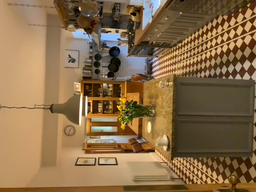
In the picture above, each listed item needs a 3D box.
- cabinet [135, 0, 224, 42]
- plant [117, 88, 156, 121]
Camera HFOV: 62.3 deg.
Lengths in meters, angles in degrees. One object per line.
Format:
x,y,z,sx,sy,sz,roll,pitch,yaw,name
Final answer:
0.710,-1.400,3.480,1.520,0.900,0.600,-176,88,-81,cabinet
0.100,0.110,2.850,0.380,0.440,0.410,180,91,-81,plant
